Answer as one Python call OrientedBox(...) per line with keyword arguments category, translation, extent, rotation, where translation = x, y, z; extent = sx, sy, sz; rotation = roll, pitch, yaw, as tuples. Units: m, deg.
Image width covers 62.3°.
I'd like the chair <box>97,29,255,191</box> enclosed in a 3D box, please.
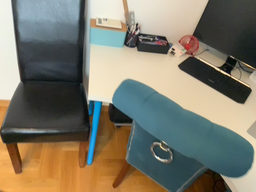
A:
OrientedBox(category="chair", translation=(0.210, 0.280, 1.170), extent=(0.420, 1.060, 0.540), rotation=(32, 44, 17))
